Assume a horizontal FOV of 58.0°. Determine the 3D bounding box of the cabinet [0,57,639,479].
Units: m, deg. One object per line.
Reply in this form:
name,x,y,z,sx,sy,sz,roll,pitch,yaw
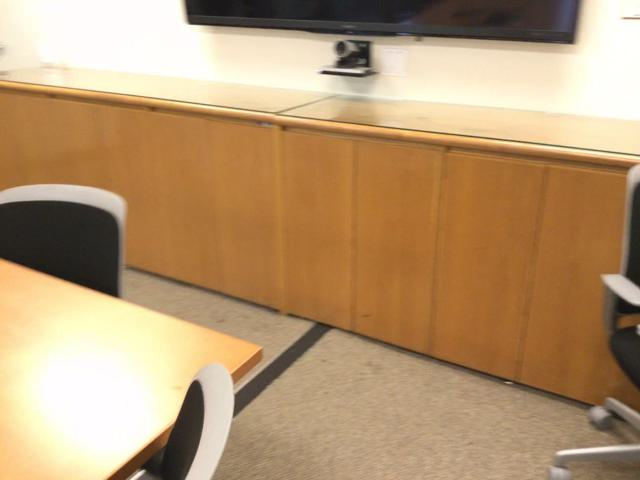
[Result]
cabinet,-0.040,-0.140,2.530,4.270,0.960,0.730,14,24,28
